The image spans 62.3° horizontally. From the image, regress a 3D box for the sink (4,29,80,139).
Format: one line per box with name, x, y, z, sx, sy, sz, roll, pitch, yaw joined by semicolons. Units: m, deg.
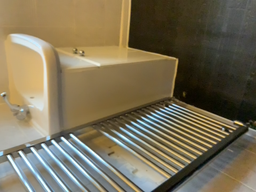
sink;-0.460;-0.100;1.110;0.520;0.160;0.430;24;118;42
